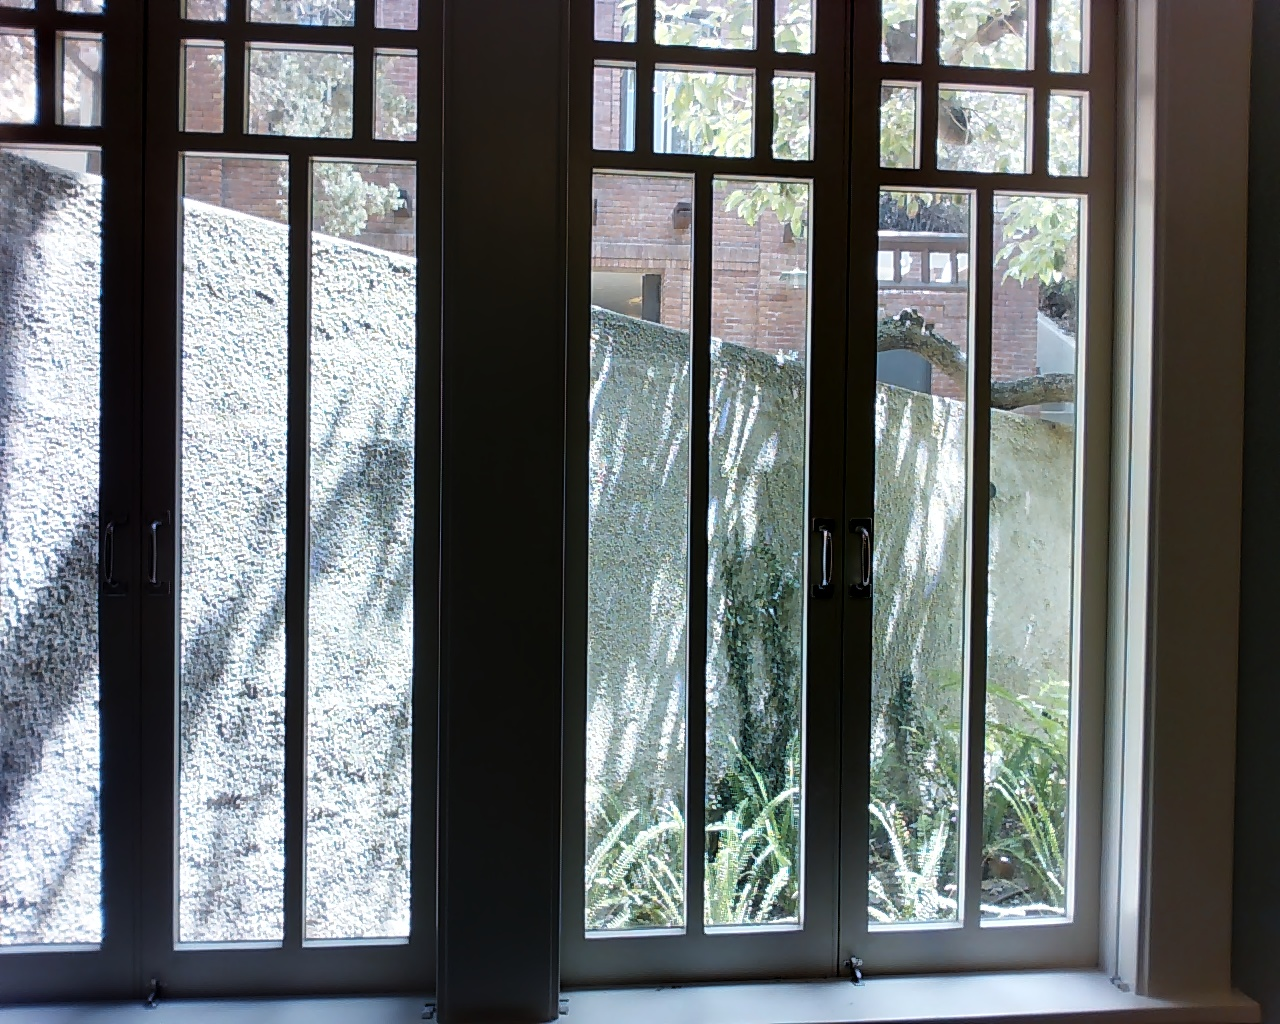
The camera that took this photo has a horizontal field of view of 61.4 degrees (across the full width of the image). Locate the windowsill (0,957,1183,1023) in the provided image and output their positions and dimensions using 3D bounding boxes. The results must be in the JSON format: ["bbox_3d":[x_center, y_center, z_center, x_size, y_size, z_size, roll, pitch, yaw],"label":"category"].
[{"bbox_3d":[-0.190,0.730,1.580,1.970,0.030,0.170,1,0,-5],"label":"windowsill"}]
